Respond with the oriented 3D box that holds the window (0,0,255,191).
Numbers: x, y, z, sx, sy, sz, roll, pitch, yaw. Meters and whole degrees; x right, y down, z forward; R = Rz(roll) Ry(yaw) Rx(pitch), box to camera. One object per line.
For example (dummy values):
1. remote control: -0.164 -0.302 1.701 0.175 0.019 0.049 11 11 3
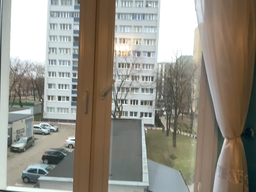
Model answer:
1. window: -0.130 -0.060 1.240 1.520 1.850 0.180 3 2 5
